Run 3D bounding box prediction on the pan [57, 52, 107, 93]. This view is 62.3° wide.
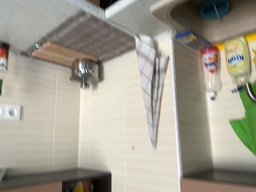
[{"bbox_3d":[-0.280,-0.130,1.280,0.260,0.160,0.170,-11,165,40],"label":"pan"}]
